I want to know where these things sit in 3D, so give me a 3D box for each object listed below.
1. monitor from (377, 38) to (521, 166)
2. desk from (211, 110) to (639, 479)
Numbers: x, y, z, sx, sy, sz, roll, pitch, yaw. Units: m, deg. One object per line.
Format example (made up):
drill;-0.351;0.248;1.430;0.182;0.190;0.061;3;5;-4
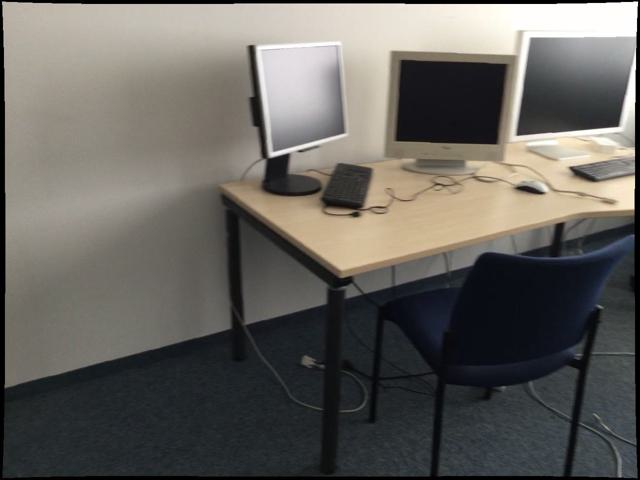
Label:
monitor;0.480;-0.541;2.260;0.460;0.440;0.230;0;25;-3
desk;0.709;0.050;2.330;1.989;0.751;1.020;-13;29;-29
